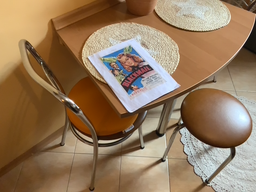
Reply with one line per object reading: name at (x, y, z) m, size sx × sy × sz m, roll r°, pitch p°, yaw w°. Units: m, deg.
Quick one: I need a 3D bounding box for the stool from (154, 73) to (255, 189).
stool at (0.430, 0.210, 1.210) m, size 0.350 × 0.470 × 0.350 m, roll -35°, pitch 63°, yaw -26°
